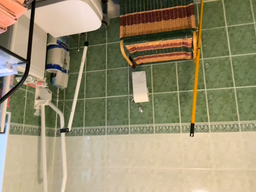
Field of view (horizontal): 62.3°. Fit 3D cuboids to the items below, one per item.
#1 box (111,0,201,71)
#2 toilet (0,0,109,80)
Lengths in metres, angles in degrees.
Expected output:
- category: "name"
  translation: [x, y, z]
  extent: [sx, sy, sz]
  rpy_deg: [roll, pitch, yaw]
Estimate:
- category: "box"
  translation: [0.220, -0.600, 1.620]
  extent: [0.570, 0.660, 0.440]
  rpy_deg: [-4, 167, 15]
- category: "toilet"
  translation: [-0.490, -0.560, 1.460]
  extent: [0.630, 0.780, 0.360]
  rpy_deg: [-4, 167, 14]
